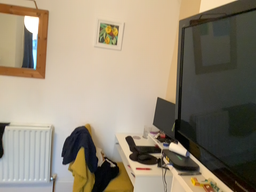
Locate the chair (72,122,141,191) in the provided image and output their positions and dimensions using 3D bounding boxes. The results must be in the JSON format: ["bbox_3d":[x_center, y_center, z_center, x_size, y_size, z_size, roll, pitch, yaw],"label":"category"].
[{"bbox_3d":[-0.260,0.780,2.150,0.560,0.900,0.480,5,9,-14],"label":"chair"}]
